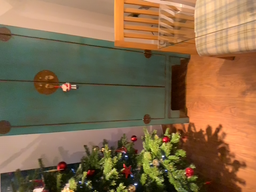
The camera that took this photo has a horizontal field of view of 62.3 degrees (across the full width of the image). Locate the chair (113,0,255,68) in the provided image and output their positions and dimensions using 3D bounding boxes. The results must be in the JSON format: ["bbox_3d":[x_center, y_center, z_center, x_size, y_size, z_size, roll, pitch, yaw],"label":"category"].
[{"bbox_3d":[0.490,-0.450,1.280,0.590,1.000,0.430,1,91,61],"label":"chair"}]
